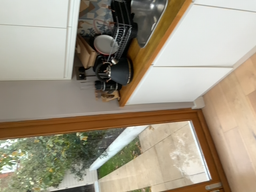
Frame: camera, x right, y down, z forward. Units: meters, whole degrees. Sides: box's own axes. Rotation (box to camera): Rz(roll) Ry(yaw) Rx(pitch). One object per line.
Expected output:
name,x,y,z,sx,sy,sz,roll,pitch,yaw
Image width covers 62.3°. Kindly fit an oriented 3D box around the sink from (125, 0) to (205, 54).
sink,0.200,-0.600,1.400,0.450,0.240,0.450,123,139,-57
